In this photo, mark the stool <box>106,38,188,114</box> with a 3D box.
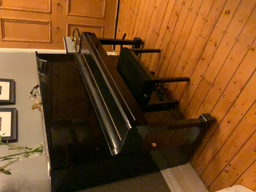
[{"bbox_3d":[0.150,-0.220,2.140,0.680,0.490,0.400,62,145,41],"label":"stool"}]
